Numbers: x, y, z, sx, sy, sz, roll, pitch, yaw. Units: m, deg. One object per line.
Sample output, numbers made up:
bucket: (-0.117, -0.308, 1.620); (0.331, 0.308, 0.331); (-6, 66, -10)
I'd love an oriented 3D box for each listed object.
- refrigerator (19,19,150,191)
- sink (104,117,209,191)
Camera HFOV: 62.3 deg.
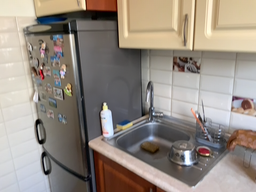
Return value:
refrigerator: (-0.270, 0.230, 1.690); (0.610, 1.550, 0.660); (15, 24, 43)
sink: (0.180, 0.360, 1.320); (0.440, 0.220, 0.470); (15, 24, 43)
